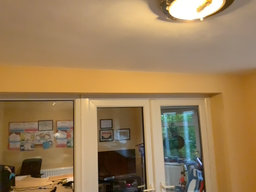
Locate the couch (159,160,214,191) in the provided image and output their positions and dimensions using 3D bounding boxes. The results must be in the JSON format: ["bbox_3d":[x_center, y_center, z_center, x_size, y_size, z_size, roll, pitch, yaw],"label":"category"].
[{"bbox_3d":[1.130,1.790,4.230,0.670,0.790,0.980,-1,-7,-10],"label":"couch"}]
